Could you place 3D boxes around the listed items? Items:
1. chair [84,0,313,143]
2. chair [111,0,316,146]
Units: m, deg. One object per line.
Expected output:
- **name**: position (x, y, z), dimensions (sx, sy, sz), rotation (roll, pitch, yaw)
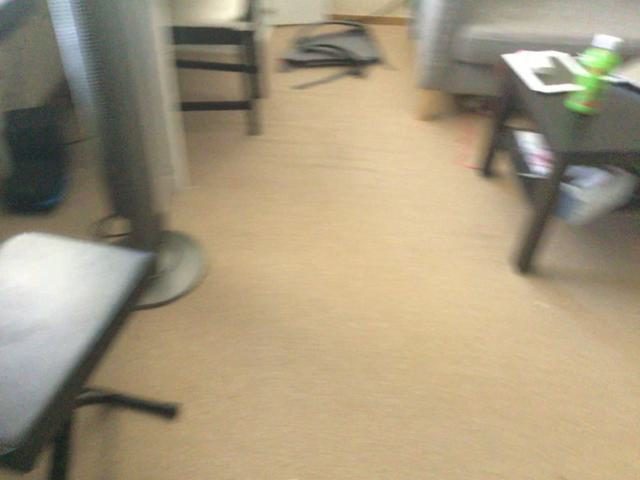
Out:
- **chair**: position (-0.430, -0.930, 2.340), dimensions (0.650, 0.730, 0.750), rotation (6, 42, 9)
- **chair**: position (-0.360, -0.860, 2.110), dimensions (0.580, 0.850, 0.490), rotation (6, 42, 9)
